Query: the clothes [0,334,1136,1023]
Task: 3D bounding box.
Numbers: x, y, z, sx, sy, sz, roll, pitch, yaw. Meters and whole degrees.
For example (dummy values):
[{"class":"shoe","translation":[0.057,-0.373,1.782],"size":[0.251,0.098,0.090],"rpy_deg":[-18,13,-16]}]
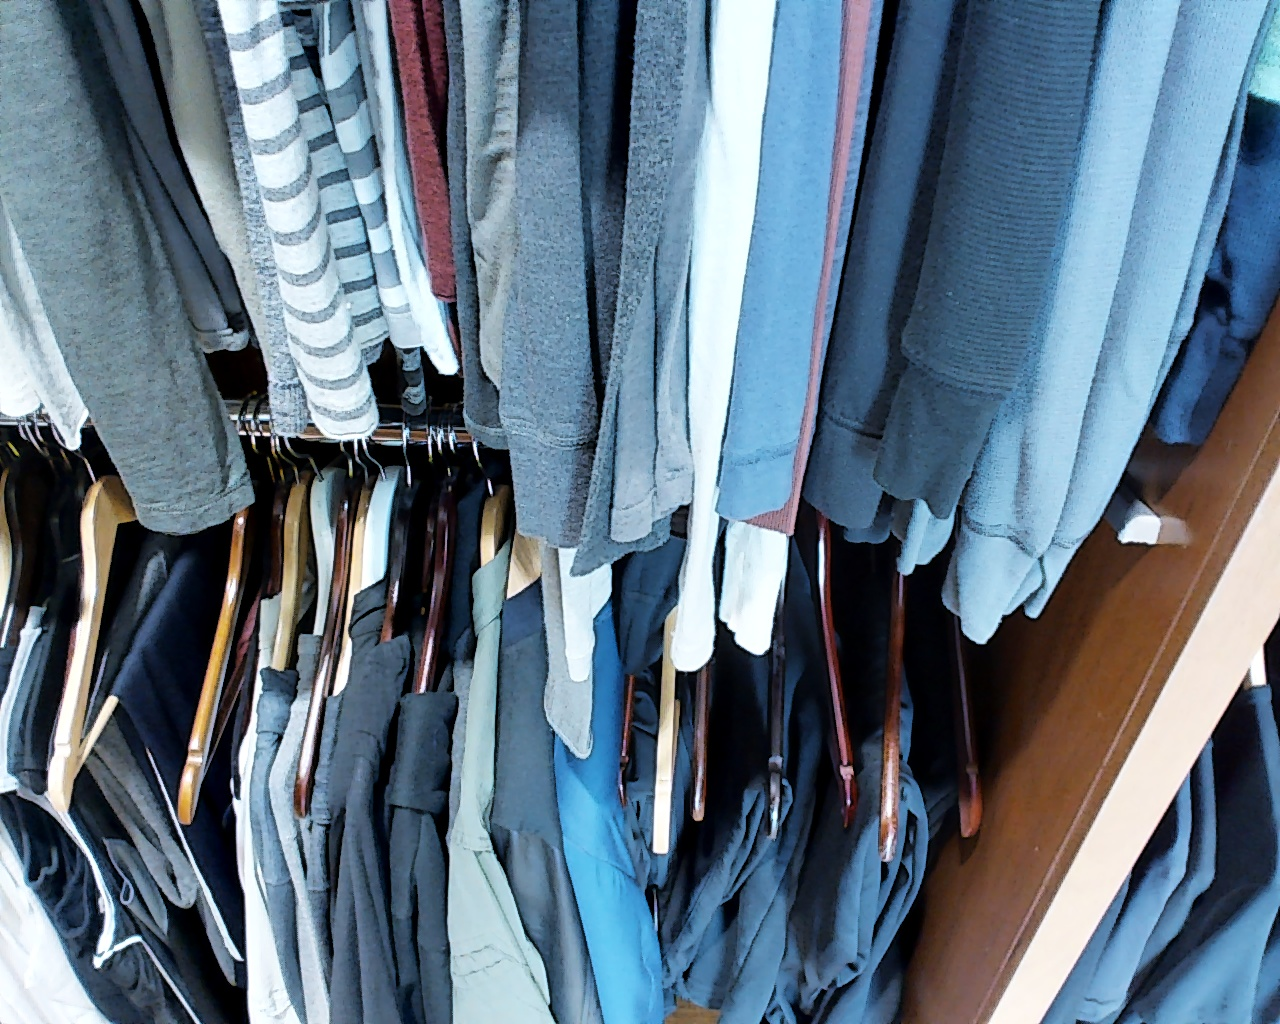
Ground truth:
[{"class":"clothes","translation":[-0.250,0.380,1.120],"size":[1.070,0.960,0.520],"rpy_deg":[3,43,3]}]
